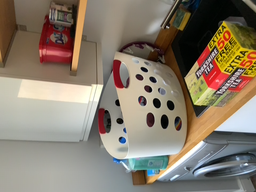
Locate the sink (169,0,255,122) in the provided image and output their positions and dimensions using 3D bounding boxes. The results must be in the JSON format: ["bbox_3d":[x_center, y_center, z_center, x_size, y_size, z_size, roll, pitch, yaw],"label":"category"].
[{"bbox_3d":[0.400,-0.220,0.950,0.440,0.140,0.510,116,153,-48],"label":"sink"}]

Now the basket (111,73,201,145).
[{"bbox_3d":[0.110,0.060,0.970,0.110,0.340,0.300,115,154,-46],"label":"basket"}]
